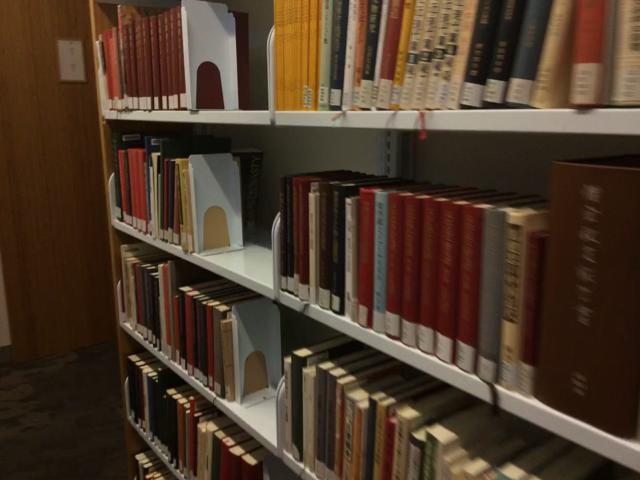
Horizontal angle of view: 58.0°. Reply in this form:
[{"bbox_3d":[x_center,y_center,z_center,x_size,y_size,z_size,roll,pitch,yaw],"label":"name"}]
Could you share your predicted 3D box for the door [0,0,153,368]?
[{"bbox_3d":[-1.450,-0.440,3.210,0.840,2.140,0.290,-10,17,-37],"label":"door"}]
